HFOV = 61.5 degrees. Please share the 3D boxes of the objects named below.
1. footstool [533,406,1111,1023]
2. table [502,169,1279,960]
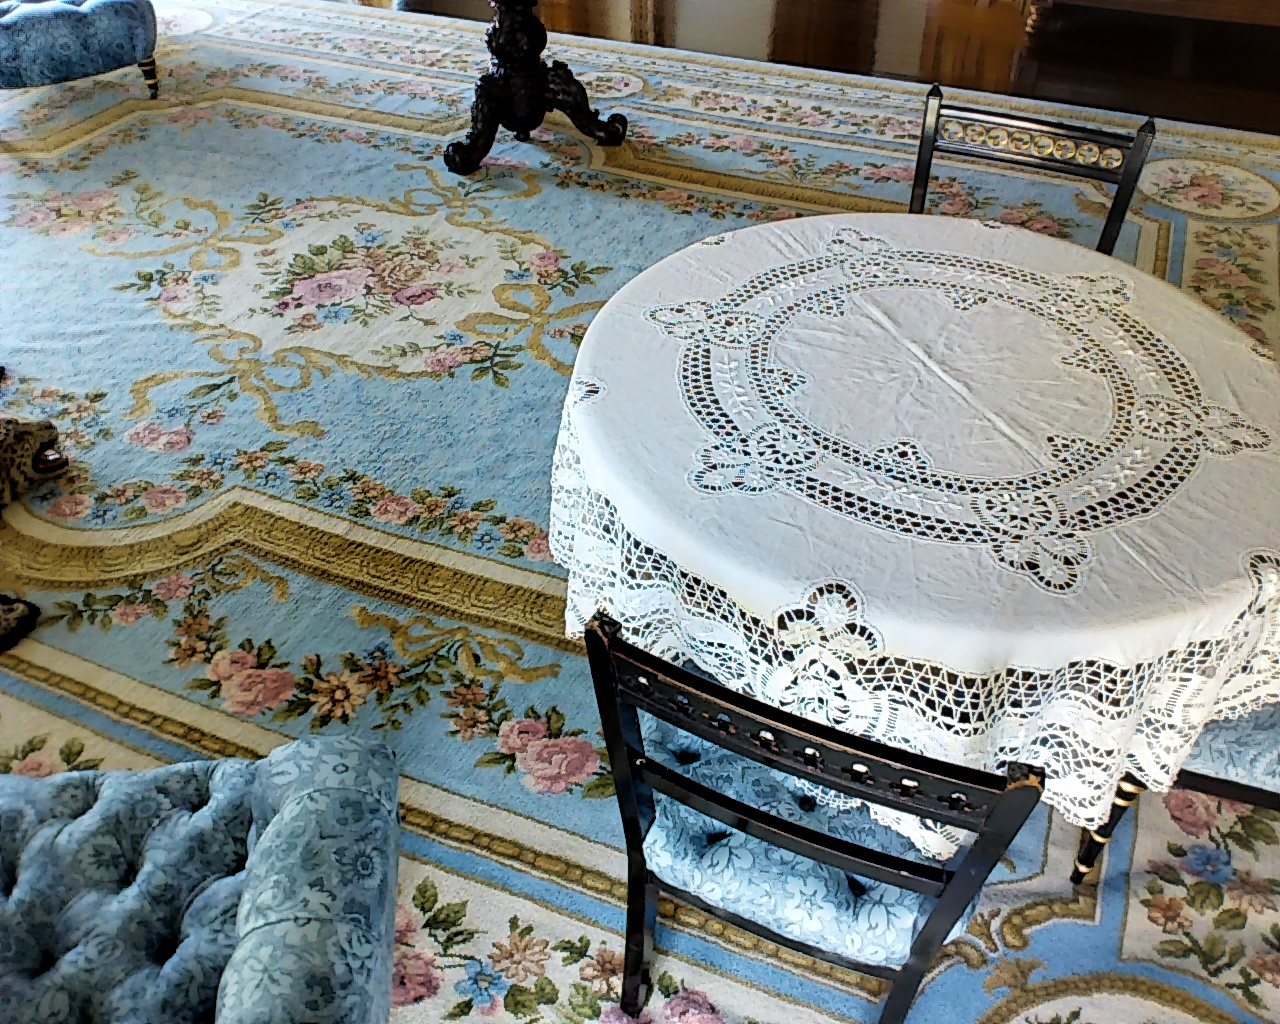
[{"bbox_3d":[0.210,0.310,1.380,0.530,0.670,0.410,16,43,17],"label":"footstool"},{"bbox_3d":[0.430,0.020,1.760,1.150,0.720,1.100,1,41,0],"label":"table"}]
